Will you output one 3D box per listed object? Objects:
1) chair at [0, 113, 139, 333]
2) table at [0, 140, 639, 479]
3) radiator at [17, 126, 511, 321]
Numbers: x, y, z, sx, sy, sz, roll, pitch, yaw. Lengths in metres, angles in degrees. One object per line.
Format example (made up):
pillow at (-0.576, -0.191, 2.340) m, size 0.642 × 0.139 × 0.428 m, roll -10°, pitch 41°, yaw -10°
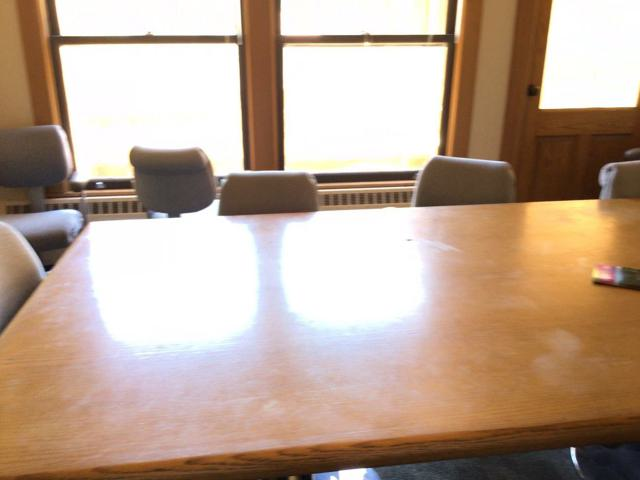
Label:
chair at (-1.350, -0.110, 2.850) m, size 0.590 × 0.890 × 0.600 m, roll -9°, pitch 18°, yaw -3°
table at (0.510, 0.400, 1.540) m, size 2.450 × 0.950 × 1.300 m, roll -9°, pitch 18°, yaw -3°
radiator at (-0.240, -0.100, 3.260) m, size 2.640 × 0.700 × 0.140 m, roll -9°, pitch 18°, yaw -3°
